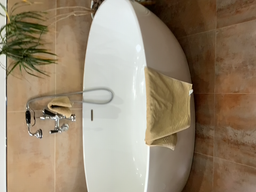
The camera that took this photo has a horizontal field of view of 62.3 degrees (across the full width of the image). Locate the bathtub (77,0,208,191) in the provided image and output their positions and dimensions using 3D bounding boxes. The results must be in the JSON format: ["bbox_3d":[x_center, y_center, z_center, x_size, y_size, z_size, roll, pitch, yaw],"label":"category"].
[{"bbox_3d":[0.060,0.130,1.670,0.810,0.580,1.770,5,94,52],"label":"bathtub"}]
